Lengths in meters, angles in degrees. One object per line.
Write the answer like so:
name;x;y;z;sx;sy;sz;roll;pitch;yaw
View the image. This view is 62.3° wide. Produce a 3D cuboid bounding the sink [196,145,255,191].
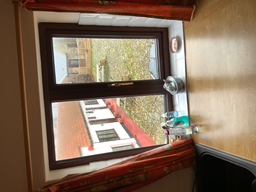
sink;0.590;0.500;1.090;0.480;0.190;0.370;180;86;-73
